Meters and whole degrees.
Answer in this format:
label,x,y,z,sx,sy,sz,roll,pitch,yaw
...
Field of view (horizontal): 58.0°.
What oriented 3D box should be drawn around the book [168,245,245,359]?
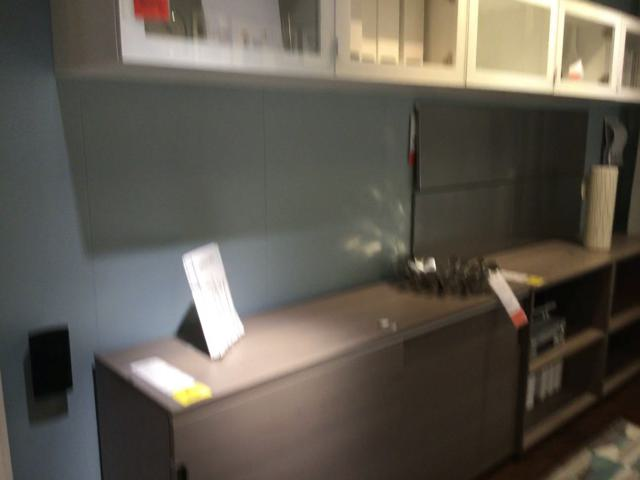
label,x,y,z,sx,sy,sz,roll,pitch,yaw
book,-0.320,0.170,1.660,0.110,0.290,0.210,-12,-2,4
